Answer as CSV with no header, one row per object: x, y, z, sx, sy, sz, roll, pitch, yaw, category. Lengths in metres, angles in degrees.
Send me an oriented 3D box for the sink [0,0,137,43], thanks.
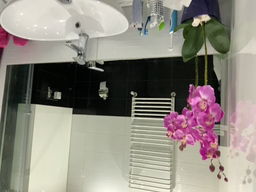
-0.300,-0.380,0.910,0.590,0.140,0.370,1,174,20,sink
